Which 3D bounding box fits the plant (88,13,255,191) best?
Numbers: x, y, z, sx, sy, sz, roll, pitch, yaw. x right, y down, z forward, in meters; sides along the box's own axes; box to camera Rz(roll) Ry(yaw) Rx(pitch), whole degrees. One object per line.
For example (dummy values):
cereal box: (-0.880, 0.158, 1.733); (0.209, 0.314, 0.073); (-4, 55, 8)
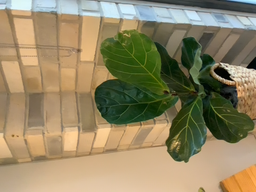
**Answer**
plant: (0.260, 0.020, 0.910); (0.460, 0.770, 0.520); (-174, 82, -71)
